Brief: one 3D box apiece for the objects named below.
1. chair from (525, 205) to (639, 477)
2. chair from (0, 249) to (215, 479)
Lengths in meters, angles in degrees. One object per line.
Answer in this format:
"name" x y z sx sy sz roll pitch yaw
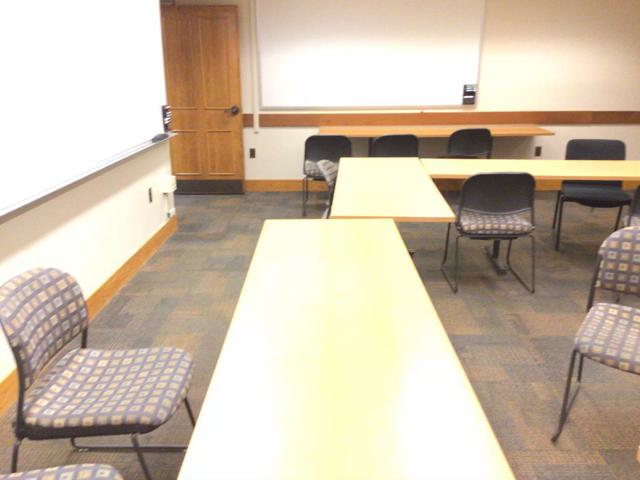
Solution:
"chair" 1.140 0.330 2.090 0.550 0.750 0.610 10 22 38
"chair" -0.700 0.470 1.860 0.550 0.740 0.490 -3 17 2
